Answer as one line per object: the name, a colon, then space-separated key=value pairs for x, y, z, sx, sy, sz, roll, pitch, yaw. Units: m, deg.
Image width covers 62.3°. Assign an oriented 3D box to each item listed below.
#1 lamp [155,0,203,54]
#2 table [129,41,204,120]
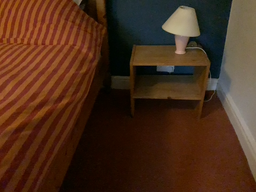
lamp: x=0.320 y=-0.500 z=1.420 sx=0.250 sy=0.360 sz=0.250 roll=2 pitch=31 yaw=4
table: x=0.260 y=-0.130 z=1.610 sx=0.470 sy=0.460 sz=0.380 roll=2 pitch=31 yaw=5
